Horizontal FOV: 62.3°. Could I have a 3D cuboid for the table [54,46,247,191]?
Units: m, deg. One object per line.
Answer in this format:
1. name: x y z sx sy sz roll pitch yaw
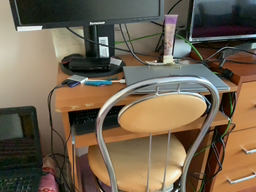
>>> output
1. table: 0.020 0.220 1.030 0.610 0.750 0.540 -8 29 -16
